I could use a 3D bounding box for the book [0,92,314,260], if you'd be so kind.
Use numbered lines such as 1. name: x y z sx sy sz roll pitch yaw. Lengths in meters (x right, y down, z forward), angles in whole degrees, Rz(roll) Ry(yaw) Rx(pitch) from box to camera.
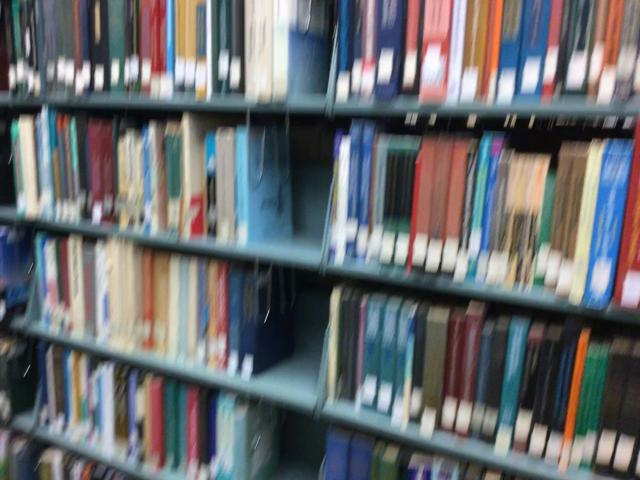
1. book: -0.440 -0.160 1.470 0.810 0.340 0.270 3 8 26

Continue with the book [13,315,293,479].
1. book: -0.470 0.420 1.580 0.780 0.310 0.210 3 8 26

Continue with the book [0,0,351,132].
1. book: -0.410 -0.460 1.380 0.940 0.350 0.250 3 8 26

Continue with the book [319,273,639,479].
1. book: 0.450 0.260 1.070 0.880 0.300 0.250 3 8 26

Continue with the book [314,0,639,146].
1. book: 0.430 -0.360 0.970 0.850 0.370 0.260 3 8 26

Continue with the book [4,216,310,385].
1. book: -0.440 0.120 1.520 0.800 0.330 0.240 3 8 26

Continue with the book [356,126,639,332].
1. book: 0.470 -0.030 0.990 0.790 0.310 0.220 3 8 26
